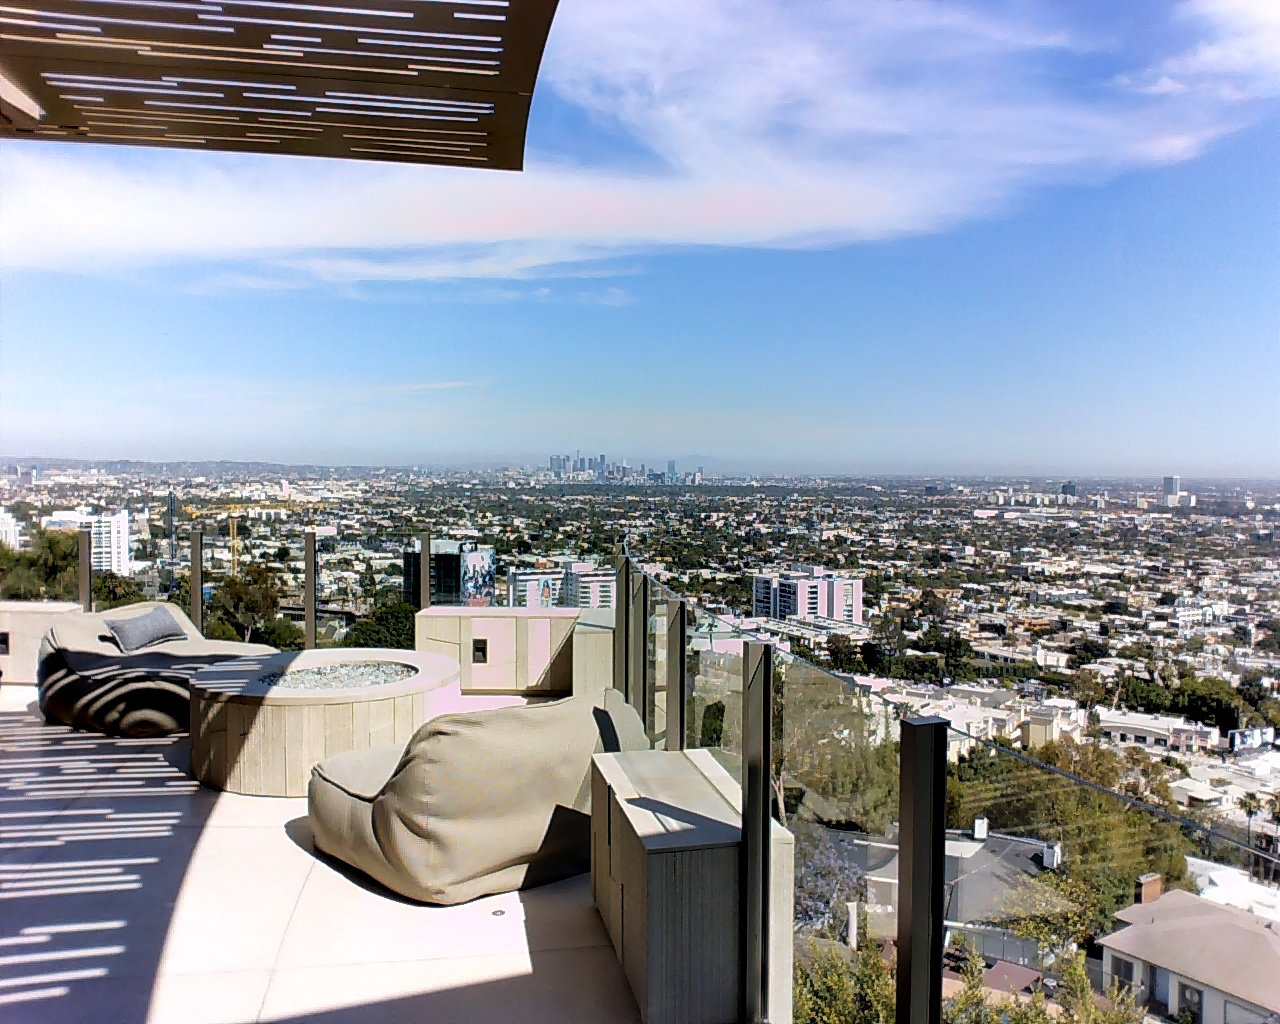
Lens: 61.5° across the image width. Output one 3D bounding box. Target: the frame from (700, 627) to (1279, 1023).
[{"bbox_3d":[0.510,0.910,2.030,0.180,1.100,1.980,-1,2,-15],"label":"frame"}]
